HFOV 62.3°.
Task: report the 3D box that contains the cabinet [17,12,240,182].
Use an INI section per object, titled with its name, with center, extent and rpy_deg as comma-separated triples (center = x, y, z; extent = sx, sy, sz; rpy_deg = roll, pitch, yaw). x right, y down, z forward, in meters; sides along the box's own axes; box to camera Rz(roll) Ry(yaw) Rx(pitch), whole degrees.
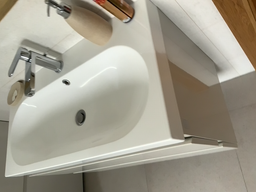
[cabinet]
center = -0.030, 0.120, 0.990
extent = 0.810, 0.540, 0.410
rpy_deg = -22, 65, 33
